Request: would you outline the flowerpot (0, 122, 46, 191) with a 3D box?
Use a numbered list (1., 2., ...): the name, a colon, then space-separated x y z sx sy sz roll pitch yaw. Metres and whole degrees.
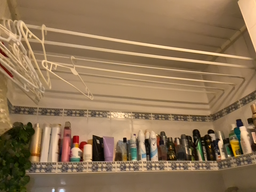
1. flowerpot: -0.550 0.450 0.980 0.240 0.590 0.280 5 -26 -16
